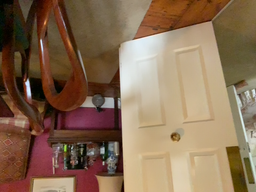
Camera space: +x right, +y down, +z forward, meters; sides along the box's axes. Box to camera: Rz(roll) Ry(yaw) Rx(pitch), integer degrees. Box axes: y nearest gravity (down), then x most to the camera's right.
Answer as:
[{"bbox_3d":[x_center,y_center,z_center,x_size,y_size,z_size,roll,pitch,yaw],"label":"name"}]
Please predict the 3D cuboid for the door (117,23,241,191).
[{"bbox_3d":[0.310,0.420,1.440,0.740,1.960,0.040,-9,160,16],"label":"door"}]
